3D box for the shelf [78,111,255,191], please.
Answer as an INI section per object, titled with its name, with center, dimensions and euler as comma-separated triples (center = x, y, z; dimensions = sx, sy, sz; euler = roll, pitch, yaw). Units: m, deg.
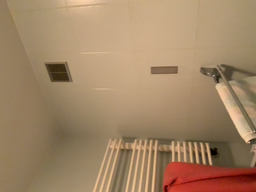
[shelf]
center = 0.460, 0.410, 1.190
dimensions = 0.710, 1.330, 0.210
euler = -76, -17, -53
